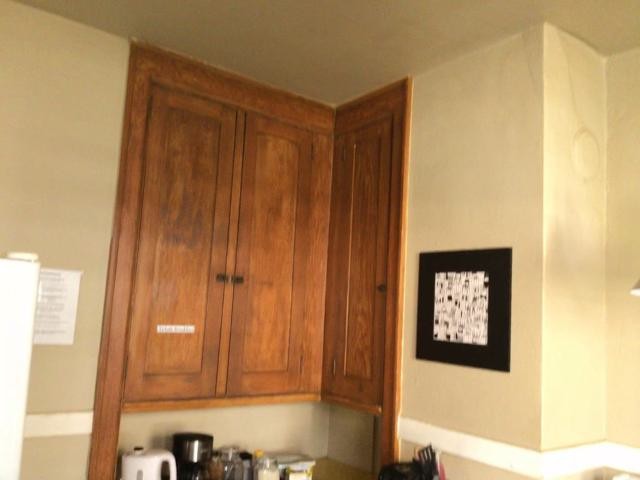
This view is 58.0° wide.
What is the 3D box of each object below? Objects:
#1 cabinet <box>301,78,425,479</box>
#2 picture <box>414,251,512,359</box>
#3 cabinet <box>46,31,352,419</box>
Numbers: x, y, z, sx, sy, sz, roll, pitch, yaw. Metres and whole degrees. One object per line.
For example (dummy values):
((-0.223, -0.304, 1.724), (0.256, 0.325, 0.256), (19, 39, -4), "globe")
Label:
((0.200, 0.150, 2.730), (0.150, 1.730, 0.530), (12, -11, -36), "cabinet")
((0.540, 0.250, 2.230), (0.050, 0.380, 0.420), (10, -11, -37), "picture")
((-0.420, 0.000, 2.600), (1.320, 1.480, 0.100), (10, -11, -37), "cabinet")
